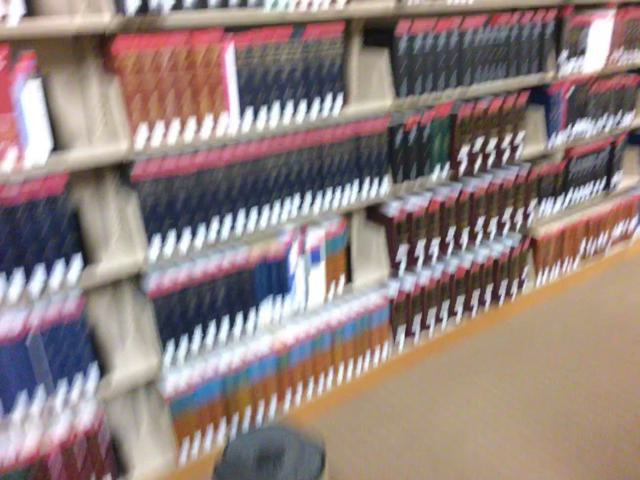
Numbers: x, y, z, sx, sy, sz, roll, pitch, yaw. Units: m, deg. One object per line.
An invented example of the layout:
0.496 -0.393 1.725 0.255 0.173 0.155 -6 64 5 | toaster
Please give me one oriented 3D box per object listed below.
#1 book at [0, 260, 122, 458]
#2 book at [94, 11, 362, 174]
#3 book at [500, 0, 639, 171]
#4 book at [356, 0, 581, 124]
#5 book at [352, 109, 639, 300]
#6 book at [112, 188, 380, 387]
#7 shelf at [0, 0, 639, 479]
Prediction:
-0.820 0.320 1.520 0.440 0.350 0.270 -21 27 -29 | book
-0.240 -0.460 1.710 0.710 0.320 0.230 -21 27 -29 | book
1.250 -0.770 2.700 0.930 0.650 0.240 -21 27 -29 | book
0.610 -0.710 2.230 1.040 0.290 0.160 -21 27 -29 | book
0.950 -0.240 2.670 1.790 0.350 0.250 -21 27 -29 | book
-0.210 0.120 1.950 0.830 0.340 0.250 -21 27 -29 | book
1.770 -0.860 3.060 7.070 1.820 0.670 -21 27 -29 | shelf
